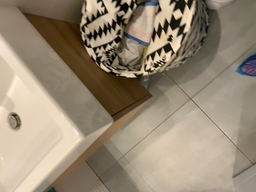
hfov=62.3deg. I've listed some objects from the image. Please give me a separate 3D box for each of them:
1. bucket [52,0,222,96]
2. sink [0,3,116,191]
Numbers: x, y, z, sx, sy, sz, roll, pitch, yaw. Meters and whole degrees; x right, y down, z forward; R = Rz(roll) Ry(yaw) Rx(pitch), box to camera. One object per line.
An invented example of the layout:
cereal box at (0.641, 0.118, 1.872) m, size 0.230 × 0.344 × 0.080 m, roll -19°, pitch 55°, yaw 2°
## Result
bucket at (0.090, -0.330, 0.920) m, size 0.430 × 0.550 × 0.380 m, roll 48°, pitch 113°, yaw 8°
sink at (-0.410, 0.110, 0.670) m, size 0.460 × 0.140 × 0.610 m, roll 48°, pitch 114°, yaw 7°
